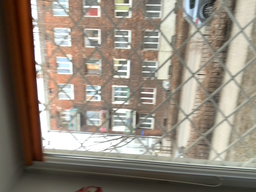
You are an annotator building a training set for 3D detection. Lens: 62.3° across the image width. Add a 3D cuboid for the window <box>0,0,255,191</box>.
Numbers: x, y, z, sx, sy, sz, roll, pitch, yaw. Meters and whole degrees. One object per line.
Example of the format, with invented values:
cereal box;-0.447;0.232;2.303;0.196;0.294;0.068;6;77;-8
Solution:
window;0.150;-0.410;0.870;0.140;1.690;1.810;-76;-12;-70
